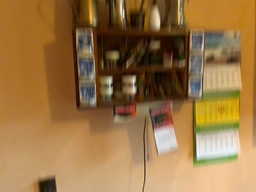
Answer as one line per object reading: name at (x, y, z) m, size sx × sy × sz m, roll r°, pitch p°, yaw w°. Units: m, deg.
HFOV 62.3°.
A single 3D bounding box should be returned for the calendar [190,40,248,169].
calendar at (0.550, 0.050, 1.280) m, size 0.370 × 0.750 × 0.020 m, roll -3°, pitch 6°, yaw -14°
